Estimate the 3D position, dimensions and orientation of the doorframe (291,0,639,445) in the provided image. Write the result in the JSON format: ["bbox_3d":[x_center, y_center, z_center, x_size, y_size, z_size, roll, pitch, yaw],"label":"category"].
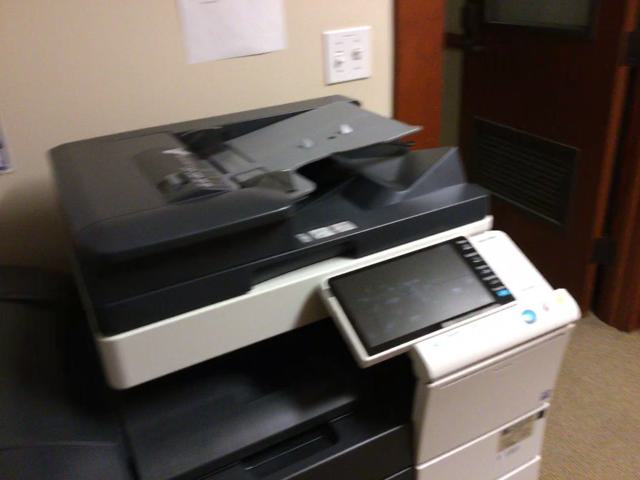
[{"bbox_3d":[0.620,-0.440,1.800,1.280,1.840,0.430,-17,28,-22],"label":"doorframe"}]
